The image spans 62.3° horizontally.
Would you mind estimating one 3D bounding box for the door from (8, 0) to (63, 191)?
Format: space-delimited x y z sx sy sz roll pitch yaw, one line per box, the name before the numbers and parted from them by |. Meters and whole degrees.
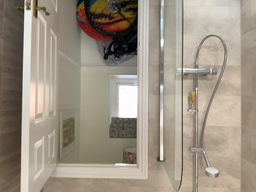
door | -0.550 -0.340 1.380 0.090 1.720 0.720 2 179 -7
